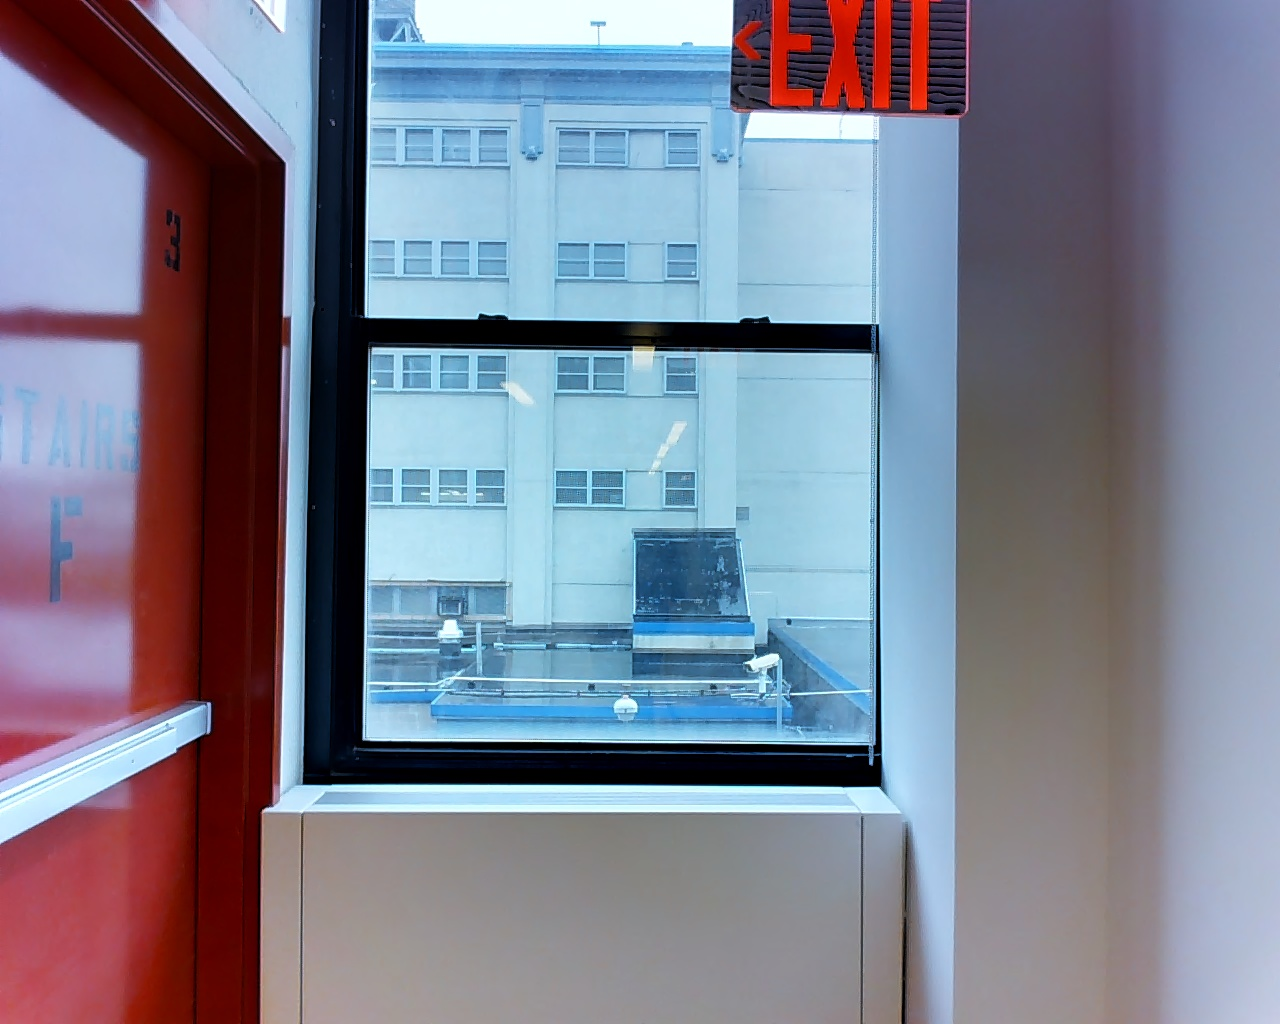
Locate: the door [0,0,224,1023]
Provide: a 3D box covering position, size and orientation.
[{"bbox_3d":[-0.840,0.370,1.620,0.050,2.020,0.880,1,-1,-1],"label":"door"}]
